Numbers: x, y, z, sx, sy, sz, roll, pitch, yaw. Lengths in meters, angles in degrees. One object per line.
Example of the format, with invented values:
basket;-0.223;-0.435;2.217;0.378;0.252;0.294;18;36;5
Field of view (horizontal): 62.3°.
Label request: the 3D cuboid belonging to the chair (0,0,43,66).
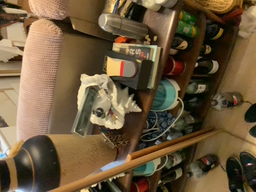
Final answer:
chair;-1.770;-0.870;2.970;0.680;0.780;0.640;-20;79;42
